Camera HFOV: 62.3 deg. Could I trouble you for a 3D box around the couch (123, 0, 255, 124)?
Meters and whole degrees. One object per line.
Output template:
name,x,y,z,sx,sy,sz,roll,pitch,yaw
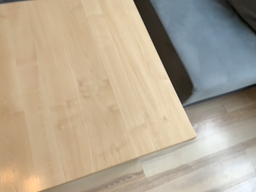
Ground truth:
couch,0.520,-0.380,1.140,0.810,0.770,0.670,-14,69,-17
